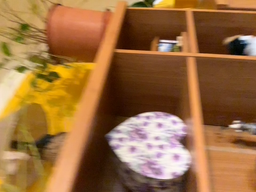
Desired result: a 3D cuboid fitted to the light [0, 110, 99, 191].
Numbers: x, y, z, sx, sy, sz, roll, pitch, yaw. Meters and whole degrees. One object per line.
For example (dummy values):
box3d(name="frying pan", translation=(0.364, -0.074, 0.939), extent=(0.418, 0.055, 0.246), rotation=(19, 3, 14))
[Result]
box3d(name="light", translation=(-0.310, 0.180, 0.660), extent=(0.210, 0.380, 0.140), rotation=(-78, -10, -46))
